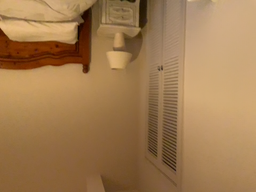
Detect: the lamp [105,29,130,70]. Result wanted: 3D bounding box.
[{"bbox_3d":[-0.120,-0.490,2.280,0.220,0.390,0.210,1,-179,-14],"label":"lamp"}]
